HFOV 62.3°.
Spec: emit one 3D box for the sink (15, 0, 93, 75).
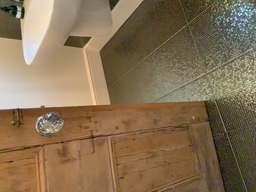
[{"bbox_3d":[-0.460,-0.470,1.190,0.660,0.170,0.450,-33,66,48],"label":"sink"}]
